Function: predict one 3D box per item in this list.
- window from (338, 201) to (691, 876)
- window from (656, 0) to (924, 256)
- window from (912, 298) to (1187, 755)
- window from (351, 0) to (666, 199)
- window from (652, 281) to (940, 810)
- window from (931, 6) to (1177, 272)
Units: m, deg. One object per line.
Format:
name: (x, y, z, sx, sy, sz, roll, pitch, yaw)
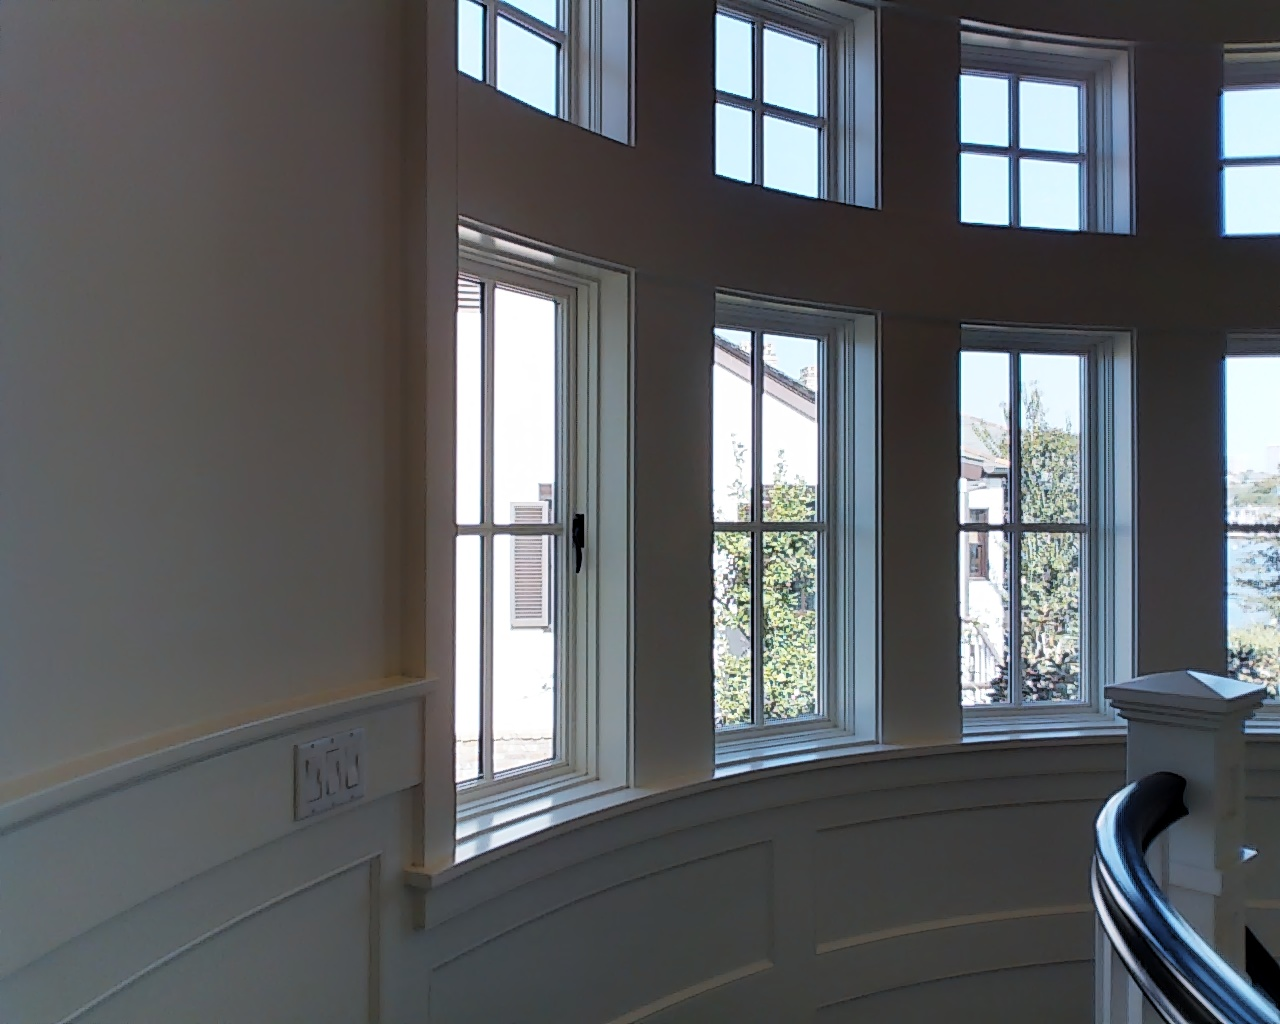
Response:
window: (-0.260, 0.050, 2.330, 0.430, 1.231, 0.630, -1, -1, 42)
window: (0.410, -1.090, 2.890, 0.650, 0.640, 0.350, 0, -1, -36)
window: (1.219, 0.040, 3.240, 0.630, 1.261, 0.440, 0, -1, -14)
window: (-0.280, -1.090, 2.360, 0.360, 0.610, 0.590, -2, 0, 40)
window: (0.420, 0.080, 2.880, 0.650, 1.251, 0.410, 0, -1, -33)
window: (1.229, -1.090, 3.210, 0.620, 0.650, 0.300, 0, -1, -12)
